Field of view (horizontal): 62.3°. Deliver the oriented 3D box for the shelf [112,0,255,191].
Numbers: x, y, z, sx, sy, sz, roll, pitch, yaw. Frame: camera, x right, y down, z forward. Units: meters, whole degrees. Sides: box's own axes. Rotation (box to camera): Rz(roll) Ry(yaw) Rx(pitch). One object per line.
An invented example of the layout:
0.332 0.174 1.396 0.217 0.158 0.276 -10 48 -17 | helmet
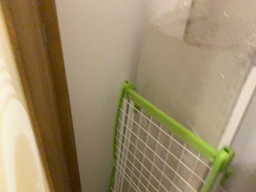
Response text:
0.190 0.210 1.010 0.240 1.390 0.580 -20 39 -32 | shelf
